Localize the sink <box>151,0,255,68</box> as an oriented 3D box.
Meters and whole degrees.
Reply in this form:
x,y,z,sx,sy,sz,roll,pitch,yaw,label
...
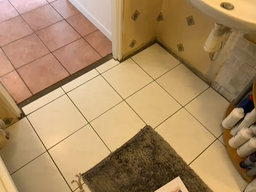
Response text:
x,y,z,sx,sy,sz,roll,pitch,yaw,label
0.440,-0.460,0.950,0.410,0.190,0.580,-33,65,-22,sink
